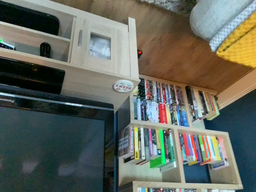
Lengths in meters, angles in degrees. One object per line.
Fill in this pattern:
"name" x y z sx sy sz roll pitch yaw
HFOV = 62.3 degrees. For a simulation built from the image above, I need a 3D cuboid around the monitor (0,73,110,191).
"monitor" -0.550 0.210 0.850 0.970 0.680 0.060 11 148 -21
